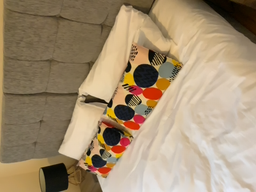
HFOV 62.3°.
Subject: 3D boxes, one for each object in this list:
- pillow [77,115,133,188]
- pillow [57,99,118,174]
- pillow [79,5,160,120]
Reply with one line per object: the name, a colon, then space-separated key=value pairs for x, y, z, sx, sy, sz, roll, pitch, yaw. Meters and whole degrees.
pillow: x=-0.190 y=0.430 z=1.600 sx=0.140 sy=0.220 sz=0.590 roll=40 pitch=127 yaw=20
pillow: x=-0.320 y=0.320 z=1.630 sx=0.080 sy=0.320 sz=0.640 roll=43 pitch=128 yaw=19
pillow: x=-0.060 y=-0.190 z=1.240 sx=0.140 sy=0.330 sz=0.610 roll=33 pitch=125 yaw=10
